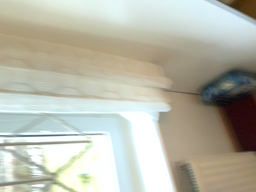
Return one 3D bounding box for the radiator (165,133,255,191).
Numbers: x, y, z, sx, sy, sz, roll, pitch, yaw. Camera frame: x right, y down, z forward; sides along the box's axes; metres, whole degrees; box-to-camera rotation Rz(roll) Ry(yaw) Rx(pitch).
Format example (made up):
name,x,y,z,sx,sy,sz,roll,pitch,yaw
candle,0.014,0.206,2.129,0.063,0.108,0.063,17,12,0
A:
name,x,y,z,sx,sy,sz,roll,pitch,yaw
radiator,0.550,0.500,1.080,0.180,0.610,0.580,-43,50,47
